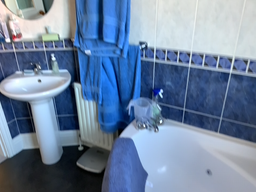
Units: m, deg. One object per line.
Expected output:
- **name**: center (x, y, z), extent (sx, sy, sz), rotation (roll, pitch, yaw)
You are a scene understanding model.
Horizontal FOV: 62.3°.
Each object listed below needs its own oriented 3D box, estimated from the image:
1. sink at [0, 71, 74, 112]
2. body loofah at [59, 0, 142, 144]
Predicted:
- **sink**: center (-0.770, -0.050, 1.790), extent (0.570, 0.170, 0.370), rotation (-4, 27, -7)
- **body loofah**: center (-0.200, -0.400, 1.570), extent (0.570, 1.550, 0.180), rotation (15, 31, 27)
